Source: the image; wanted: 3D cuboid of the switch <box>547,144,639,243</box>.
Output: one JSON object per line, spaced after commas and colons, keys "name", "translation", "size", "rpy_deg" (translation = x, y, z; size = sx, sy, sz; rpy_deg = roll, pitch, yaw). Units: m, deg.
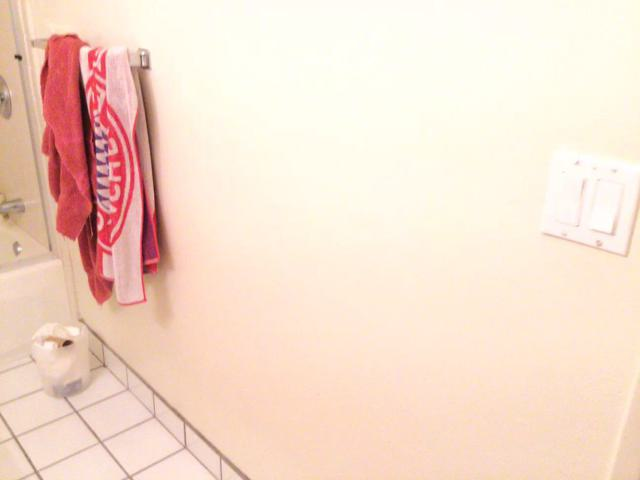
{"name": "switch", "translation": [0.350, -0.060, 0.720], "size": [0.020, 0.100, 0.120], "rpy_deg": [-20, 28, -39]}
